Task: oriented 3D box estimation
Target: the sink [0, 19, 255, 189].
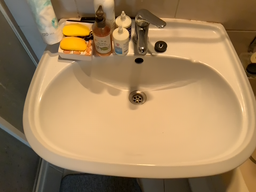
[{"bbox_3d":[0.020,0.020,0.680,0.620,0.220,0.480,2,62,0],"label":"sink"}]
